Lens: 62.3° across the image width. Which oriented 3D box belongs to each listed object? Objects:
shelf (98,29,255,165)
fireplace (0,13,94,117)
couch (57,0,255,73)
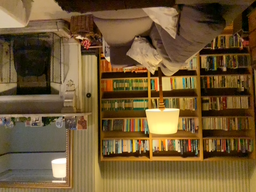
[{"bbox_3d":[0.730,0.020,3.460,2.400,2.070,0.320,-1,178,3],"label":"shelf"},{"bbox_3d":[-1.550,-0.370,3.170,1.880,1.300,0.910,-1,178,4],"label":"fireplace"},{"bbox_3d":[0.210,-0.720,1.820,0.900,0.740,1.920,-1,178,3],"label":"couch"}]
